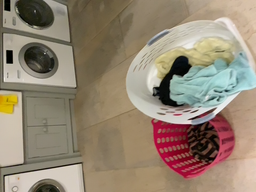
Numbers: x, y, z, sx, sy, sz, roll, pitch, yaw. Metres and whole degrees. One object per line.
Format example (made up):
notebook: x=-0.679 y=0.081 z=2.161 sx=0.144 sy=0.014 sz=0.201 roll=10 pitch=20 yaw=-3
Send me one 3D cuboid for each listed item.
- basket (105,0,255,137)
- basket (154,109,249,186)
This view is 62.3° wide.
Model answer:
basket: x=0.310 y=-0.110 z=1.190 sx=0.600 sy=0.560 sz=0.510 roll=-29 pitch=66 yaw=44
basket: x=0.420 y=0.260 z=1.250 sx=0.400 sy=0.300 sz=0.300 roll=11 pitch=96 yaw=49
